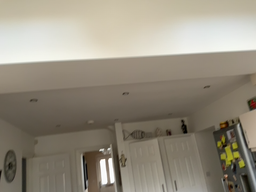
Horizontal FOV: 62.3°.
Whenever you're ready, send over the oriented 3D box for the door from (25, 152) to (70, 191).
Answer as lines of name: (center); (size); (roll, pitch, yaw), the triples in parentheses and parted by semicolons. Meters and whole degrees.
door: (-1.560, 2.160, 4.150); (0.830, 1.970, 0.170); (-6, -17, -6)
